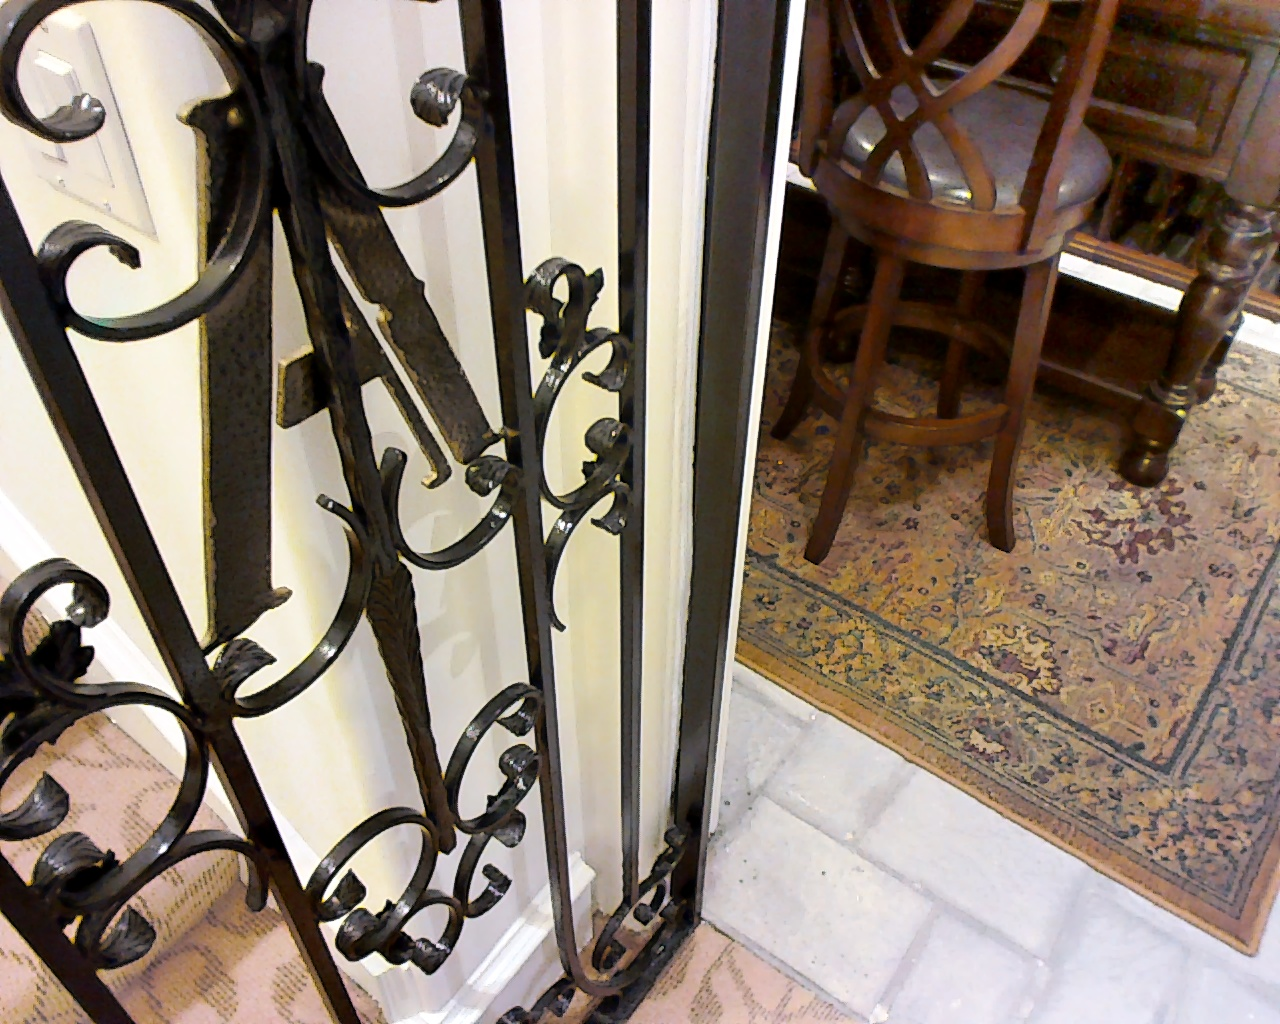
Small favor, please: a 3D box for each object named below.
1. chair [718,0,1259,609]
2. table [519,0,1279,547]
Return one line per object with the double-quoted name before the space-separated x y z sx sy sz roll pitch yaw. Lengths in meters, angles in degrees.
"chair" 0.480 -0.450 1.790 0.560 1.100 0.550 8 43 7
"table" 0.570 -0.780 2.310 1.650 0.940 0.600 27 49 26
